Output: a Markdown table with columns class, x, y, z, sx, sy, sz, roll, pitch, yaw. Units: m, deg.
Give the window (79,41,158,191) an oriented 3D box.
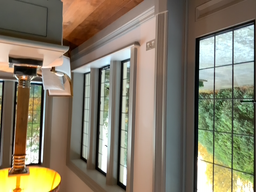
| class | x | y | z | sx | sy | sz | roll | pitch | yaw |
| --- | --- | --- | --- | --- | --- | --- | --- | --- | --- |
| window | -0.320 | 0.320 | 3.360 | 0.120 | 1.850 | 2.240 | 3 | 178 | -31 |
